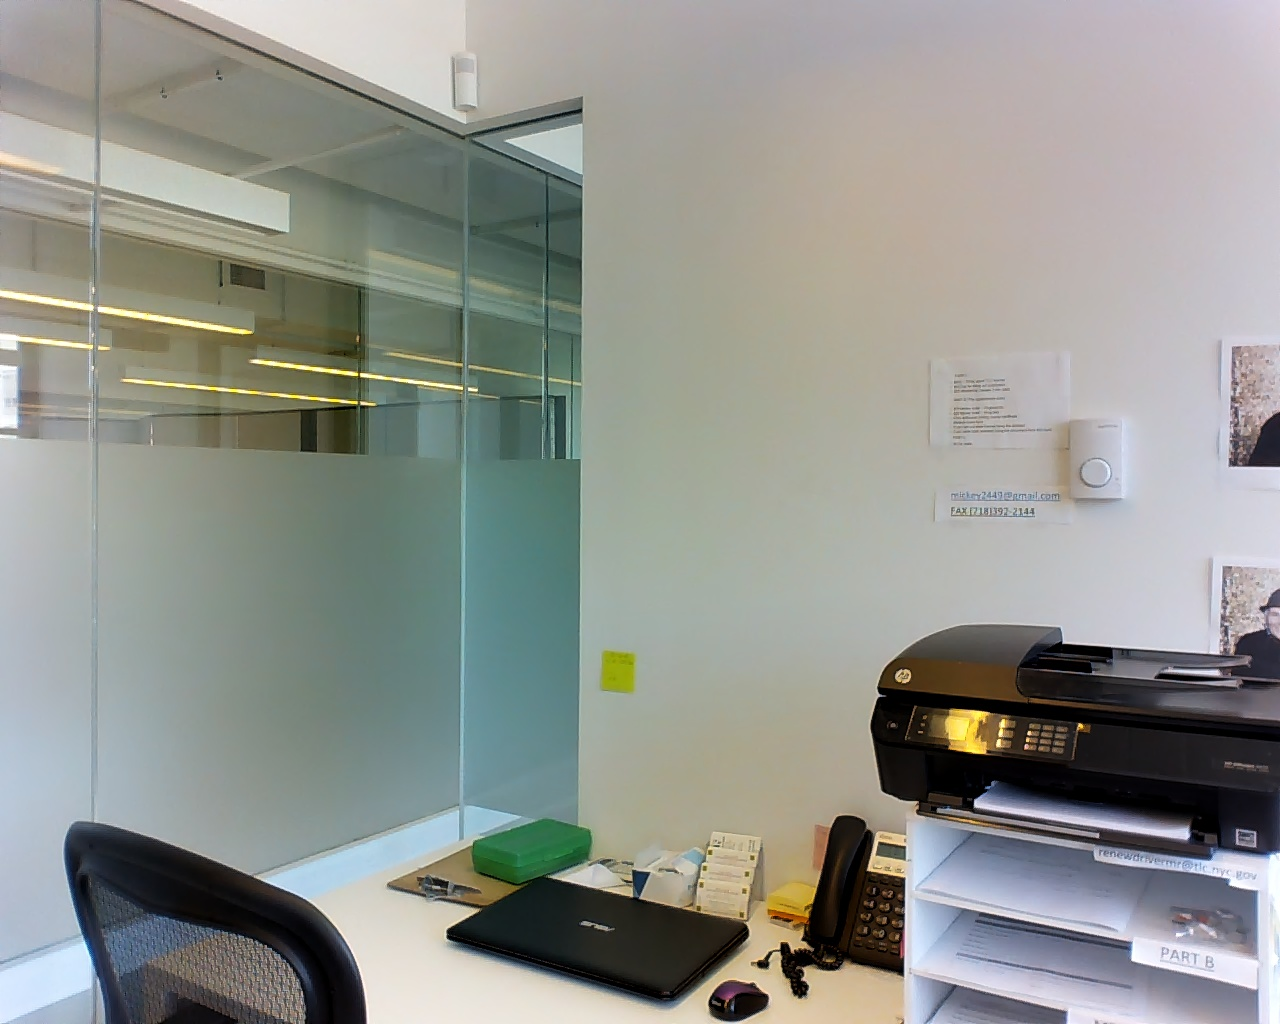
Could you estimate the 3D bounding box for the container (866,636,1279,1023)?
[{"bbox_3d":[0.580,0.460,1.260,0.490,0.550,0.440,1,0,32],"label":"container"}]
